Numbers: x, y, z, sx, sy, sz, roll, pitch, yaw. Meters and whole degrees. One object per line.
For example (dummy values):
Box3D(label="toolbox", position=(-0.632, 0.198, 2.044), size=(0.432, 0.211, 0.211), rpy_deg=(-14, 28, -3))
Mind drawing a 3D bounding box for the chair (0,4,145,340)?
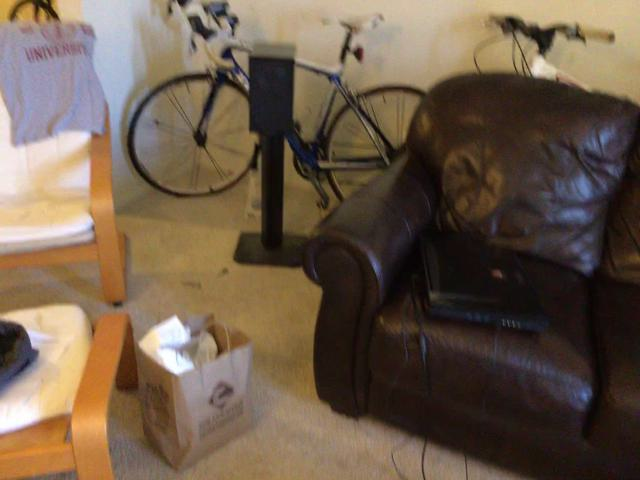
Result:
Box3D(label="chair", position=(-1.140, -0.300, 2.100), size=(0.890, 0.930, 0.950), rpy_deg=(-3, 28, -19))

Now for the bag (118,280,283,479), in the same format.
Box3D(label="bag", position=(-0.330, 0.380, 1.600), size=(0.290, 0.370, 0.310), rpy_deg=(26, 32, 32))
